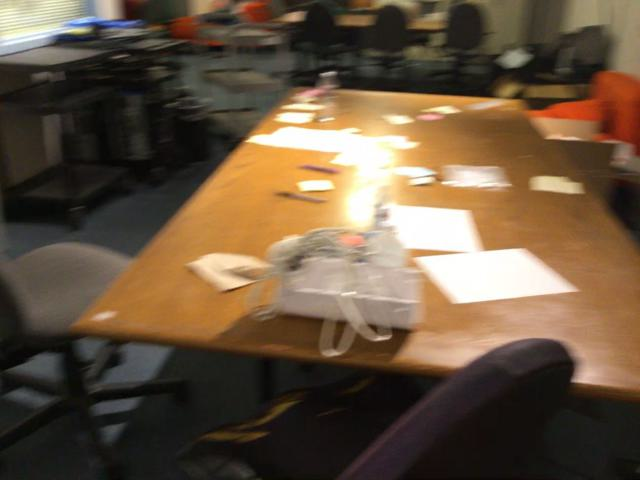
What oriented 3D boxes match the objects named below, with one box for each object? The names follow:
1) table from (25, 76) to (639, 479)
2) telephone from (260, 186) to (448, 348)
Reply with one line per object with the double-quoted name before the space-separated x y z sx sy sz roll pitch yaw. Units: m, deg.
"table" 0.270 0.010 2.240 1.270 0.850 2.470 5 24 7
"telephone" 0.070 0.040 1.150 0.320 0.190 0.260 7 25 6
